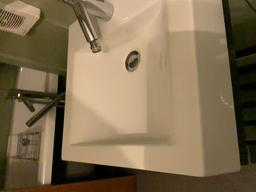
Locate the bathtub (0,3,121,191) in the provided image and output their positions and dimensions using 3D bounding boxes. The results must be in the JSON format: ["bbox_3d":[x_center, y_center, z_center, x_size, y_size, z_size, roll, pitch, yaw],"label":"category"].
[{"bbox_3d":[-0.570,0.370,1.710,0.770,0.690,1.790,-15,71,46],"label":"bathtub"}]
